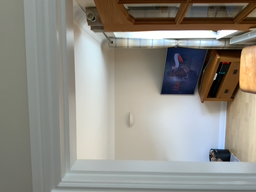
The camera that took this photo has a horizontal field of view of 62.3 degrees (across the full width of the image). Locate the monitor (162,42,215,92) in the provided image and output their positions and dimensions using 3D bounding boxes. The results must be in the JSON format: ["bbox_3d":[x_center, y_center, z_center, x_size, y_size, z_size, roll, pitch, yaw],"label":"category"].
[{"bbox_3d":[1.000,-0.470,3.720,1.100,0.680,0.080,89,-178,-51],"label":"monitor"}]
